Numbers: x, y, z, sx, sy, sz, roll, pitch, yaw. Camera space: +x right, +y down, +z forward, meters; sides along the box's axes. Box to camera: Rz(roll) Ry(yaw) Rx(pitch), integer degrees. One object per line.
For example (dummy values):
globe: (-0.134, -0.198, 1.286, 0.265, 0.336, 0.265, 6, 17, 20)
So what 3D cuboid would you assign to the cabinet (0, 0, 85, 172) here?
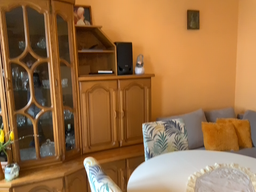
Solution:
cabinet: (-0.950, -0.210, 2.100, 0.870, 1.700, 0.450, -4, 9, -22)
